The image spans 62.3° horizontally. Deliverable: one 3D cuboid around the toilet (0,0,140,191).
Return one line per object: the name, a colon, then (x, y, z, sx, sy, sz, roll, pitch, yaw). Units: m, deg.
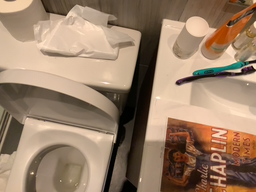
toilet: (-0.250, 0.200, 0.810, 0.410, 0.810, 0.650, 9, 72, -2)
